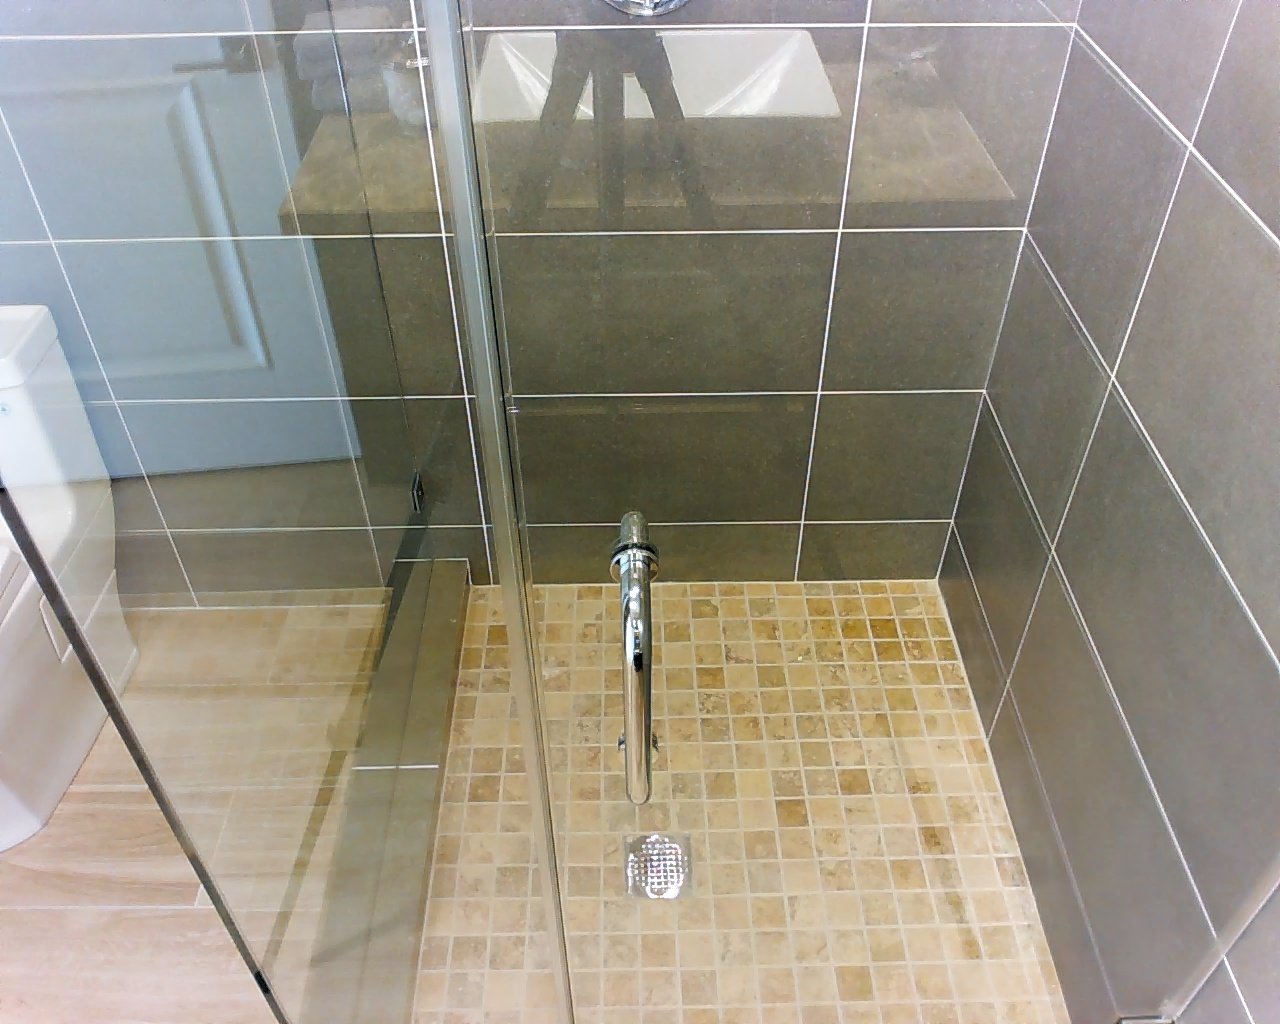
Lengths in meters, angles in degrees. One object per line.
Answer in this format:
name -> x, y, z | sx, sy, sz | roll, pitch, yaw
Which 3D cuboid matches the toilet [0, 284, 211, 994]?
toilet -> -1.100, 0.190, 1.650 | 0.450, 0.770, 0.760 | -1, 42, 0
